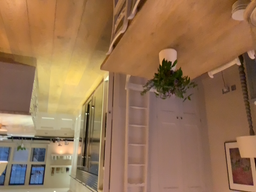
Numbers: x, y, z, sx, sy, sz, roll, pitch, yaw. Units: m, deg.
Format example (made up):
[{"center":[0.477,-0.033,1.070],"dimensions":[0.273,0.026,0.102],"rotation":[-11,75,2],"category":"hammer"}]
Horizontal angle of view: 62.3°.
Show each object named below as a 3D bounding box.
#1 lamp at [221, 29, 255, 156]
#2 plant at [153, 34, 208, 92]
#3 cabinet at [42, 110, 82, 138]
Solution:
[{"center":[1.580,-0.050,2.800],"dimensions":[0.350,1.620,0.340],"rotation":[8,163,-22],"category":"lamp"},{"center":[0.380,-0.230,1.600],"dimensions":[0.290,0.310,0.260],"rotation":[7,163,-21],"category":"plant"},{"center":[-2.520,1.100,8.110],"dimensions":[1.300,0.920,0.680],"rotation":[7,163,-20],"category":"cabinet"}]
